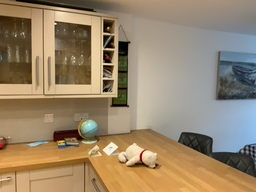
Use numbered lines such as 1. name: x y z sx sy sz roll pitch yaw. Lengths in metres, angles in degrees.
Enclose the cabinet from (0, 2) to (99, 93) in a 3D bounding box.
1. cabinet: -0.810 -0.400 1.980 1.010 0.720 0.330 -1 5 -24
